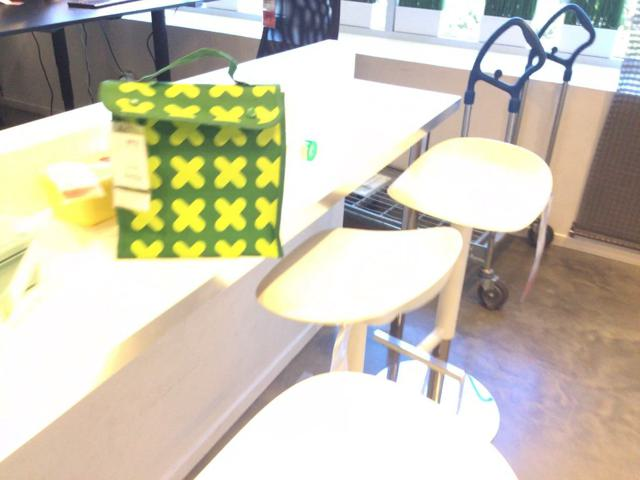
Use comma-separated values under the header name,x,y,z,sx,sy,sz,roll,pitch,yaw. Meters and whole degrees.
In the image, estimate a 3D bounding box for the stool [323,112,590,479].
name,x,y,z,sx,sy,sz,roll,pitch,yaw
stool,0.370,0.120,1.660,0.530,0.830,0.470,15,27,25
